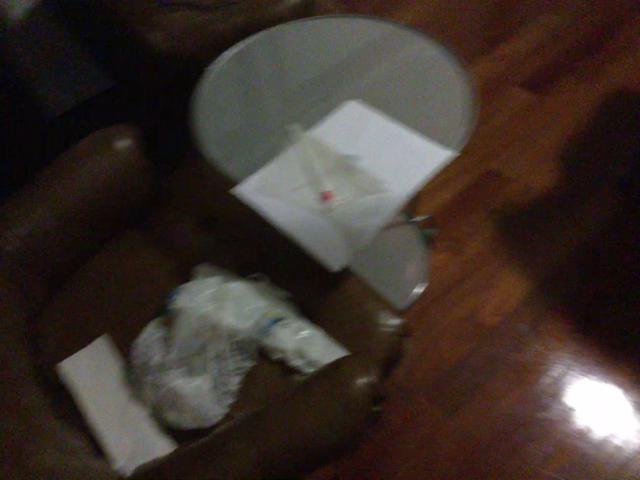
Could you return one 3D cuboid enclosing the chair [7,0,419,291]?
[{"bbox_3d":[-0.290,-0.540,1.470,0.730,0.820,0.780,-34,57,-15],"label":"chair"}]
